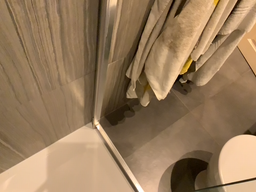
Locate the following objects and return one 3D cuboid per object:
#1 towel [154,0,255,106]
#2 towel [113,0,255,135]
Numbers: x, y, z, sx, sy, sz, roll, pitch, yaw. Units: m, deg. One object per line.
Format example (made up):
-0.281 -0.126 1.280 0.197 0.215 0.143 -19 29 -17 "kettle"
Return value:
0.500 -0.370 1.010 0.400 1.220 0.180 -29 72 -24 "towel"
0.180 -0.190 0.820 0.260 1.180 0.230 -29 72 -24 "towel"
